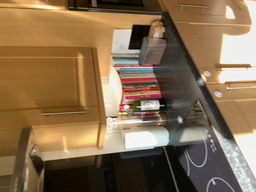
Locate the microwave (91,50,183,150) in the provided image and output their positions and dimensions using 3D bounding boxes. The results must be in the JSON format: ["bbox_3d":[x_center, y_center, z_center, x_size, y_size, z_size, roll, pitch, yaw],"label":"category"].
[{"bbox_3d":[0.010,0.000,1.430,0.290,0.460,0.600,104,159,-50],"label":"microwave"}]
